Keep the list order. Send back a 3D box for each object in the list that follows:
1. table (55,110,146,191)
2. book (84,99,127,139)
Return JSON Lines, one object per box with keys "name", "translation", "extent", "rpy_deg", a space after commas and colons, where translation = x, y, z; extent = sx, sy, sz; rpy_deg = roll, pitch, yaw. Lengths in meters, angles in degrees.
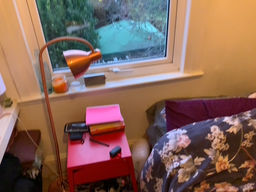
{"name": "table", "translation": [-0.170, 0.480, 1.440], "extent": [0.480, 0.560, 0.420], "rpy_deg": [-8, 32, -8]}
{"name": "book", "translation": [-0.150, 0.140, 1.360], "extent": [0.250, 0.110, 0.230], "rpy_deg": [-7, 32, -8]}
